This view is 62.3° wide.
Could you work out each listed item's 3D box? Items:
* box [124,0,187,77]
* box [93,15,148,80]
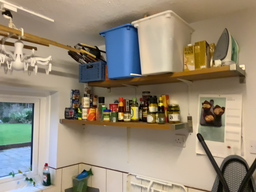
[{"bbox_3d":[0.190,-0.350,1.420,0.320,0.380,0.290,-3,-5,34],"label":"box"},{"bbox_3d":[-0.050,-0.340,1.610,0.310,0.380,0.280,-3,-5,34],"label":"box"}]
